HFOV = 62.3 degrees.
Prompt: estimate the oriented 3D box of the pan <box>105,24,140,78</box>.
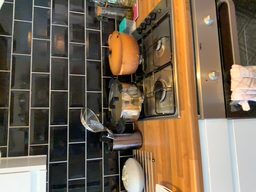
[{"bbox_3d":[-0.040,-0.250,1.230,0.190,0.140,0.250,159,111,-67],"label":"pan"}]
